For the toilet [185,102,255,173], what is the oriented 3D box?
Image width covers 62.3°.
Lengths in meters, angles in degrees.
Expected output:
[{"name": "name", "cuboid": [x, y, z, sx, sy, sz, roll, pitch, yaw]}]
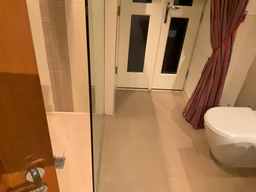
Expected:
[{"name": "toilet", "cuboid": [0.870, 0.340, 1.790, 0.580, 0.440, 0.380, 1, 34, -7]}]

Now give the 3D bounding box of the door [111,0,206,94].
[{"name": "door", "cuboid": [0.310, -0.820, 2.250, 0.920, 1.820, 0.060, 3, 34, -4]}]
